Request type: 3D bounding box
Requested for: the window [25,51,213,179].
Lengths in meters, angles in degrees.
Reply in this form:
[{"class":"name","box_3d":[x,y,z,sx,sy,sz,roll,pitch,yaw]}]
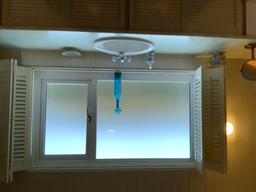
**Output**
[{"class":"window","box_3d":[-0.070,0.200,2.450,1.970,1.290,0.420,1,178,-6]}]
